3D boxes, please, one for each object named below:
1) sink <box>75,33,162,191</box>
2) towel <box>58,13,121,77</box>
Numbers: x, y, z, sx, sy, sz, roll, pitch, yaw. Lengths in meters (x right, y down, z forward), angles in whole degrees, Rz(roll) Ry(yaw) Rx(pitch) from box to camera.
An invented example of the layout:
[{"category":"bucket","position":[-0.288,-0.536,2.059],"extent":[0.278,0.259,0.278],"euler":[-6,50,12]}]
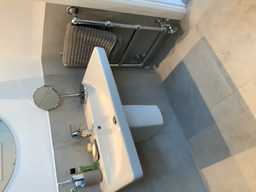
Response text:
[{"category":"sink","position":[-0.130,0.100,1.350],"extent":[0.470,0.160,0.890],"euler":[-56,46,49]},{"category":"towel","position":[-0.310,-0.350,1.590],"extent":[0.480,0.340,0.160],"euler":[-54,48,51]}]
